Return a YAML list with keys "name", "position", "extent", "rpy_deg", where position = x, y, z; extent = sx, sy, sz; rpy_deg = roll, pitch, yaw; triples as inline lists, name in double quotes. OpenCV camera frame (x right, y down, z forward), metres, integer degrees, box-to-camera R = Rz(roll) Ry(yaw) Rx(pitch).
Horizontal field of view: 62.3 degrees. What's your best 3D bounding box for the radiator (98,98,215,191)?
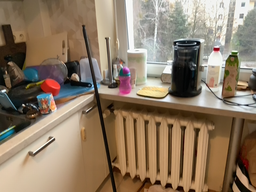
- name: "radiator"
  position: [0.190, 0.380, 1.590]
  extent: [0.780, 0.600, 0.200]
  rpy_deg: [8, 24, 23]
